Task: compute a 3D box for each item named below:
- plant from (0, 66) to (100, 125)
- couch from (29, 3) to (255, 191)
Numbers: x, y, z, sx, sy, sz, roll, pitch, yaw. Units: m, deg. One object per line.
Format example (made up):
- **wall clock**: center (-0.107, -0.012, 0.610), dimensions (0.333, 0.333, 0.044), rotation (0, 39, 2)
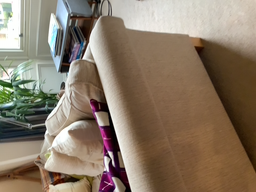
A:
- **plant**: center (-1.130, -0.020, 2.470), dimensions (0.430, 1.480, 0.440), rotation (62, 142, 31)
- **couch**: center (-0.230, 0.500, 1.720), dimensions (2.190, 0.770, 0.960), rotation (-43, 60, 52)
